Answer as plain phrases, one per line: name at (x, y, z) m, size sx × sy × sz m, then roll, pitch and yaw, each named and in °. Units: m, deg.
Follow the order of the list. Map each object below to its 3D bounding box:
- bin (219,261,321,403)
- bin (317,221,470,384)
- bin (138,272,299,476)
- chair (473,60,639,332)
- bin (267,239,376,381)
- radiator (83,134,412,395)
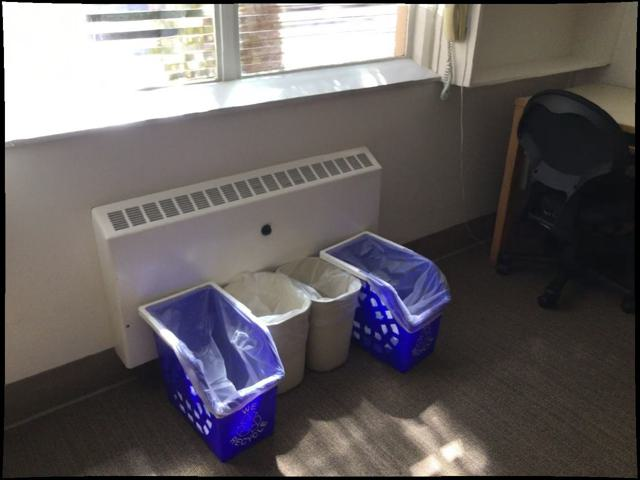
bin at (-0.160, 0.290, 1.880) m, size 0.210 × 0.310 × 0.270 m, roll -18°, pitch 34°, yaw -30°
bin at (0.240, 0.200, 2.050) m, size 0.300 × 0.330 × 0.440 m, roll -18°, pitch 34°, yaw -30°
bin at (-0.300, 0.370, 1.710) m, size 0.290 × 0.330 × 0.420 m, roll -18°, pitch 34°, yaw -30°
chair at (1.069, -0.210, 2.300) m, size 0.540 × 0.831 × 0.580 m, roll -18°, pitch 34°, yaw -30°
bin at (0.000, 0.230, 1.980) m, size 0.250 × 0.330 × 0.270 m, roll -18°, pitch 34°, yaw -30°
radiator at (-0.170, 0.040, 1.970) m, size 1.089 × 0.580 × 0.170 m, roll -18°, pitch 34°, yaw -30°
